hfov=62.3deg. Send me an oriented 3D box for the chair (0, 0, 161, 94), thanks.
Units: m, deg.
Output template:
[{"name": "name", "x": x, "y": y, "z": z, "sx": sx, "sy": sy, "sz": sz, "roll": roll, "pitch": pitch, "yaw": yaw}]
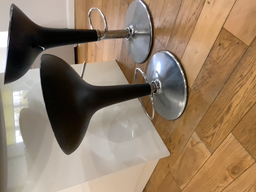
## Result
[{"name": "chair", "x": -0.300, "y": -0.320, "z": 1.170, "sx": 0.430, "sy": 0.760, "sz": 0.380, "roll": 136, "pitch": 121, "yaw": -63}]
